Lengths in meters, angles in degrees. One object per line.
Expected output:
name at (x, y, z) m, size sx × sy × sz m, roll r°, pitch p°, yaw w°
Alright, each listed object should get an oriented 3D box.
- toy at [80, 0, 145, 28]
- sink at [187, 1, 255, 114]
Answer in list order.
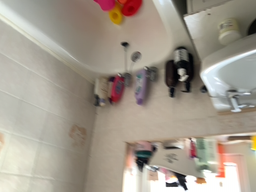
toy at (-0.100, -0.580, 1.250) m, size 0.300 × 0.090 × 0.300 m, roll -10°, pitch 152°, yaw 26°
sink at (0.560, -0.140, 0.760) m, size 0.580 × 0.220 × 0.390 m, roll -11°, pitch 152°, yaw 28°
